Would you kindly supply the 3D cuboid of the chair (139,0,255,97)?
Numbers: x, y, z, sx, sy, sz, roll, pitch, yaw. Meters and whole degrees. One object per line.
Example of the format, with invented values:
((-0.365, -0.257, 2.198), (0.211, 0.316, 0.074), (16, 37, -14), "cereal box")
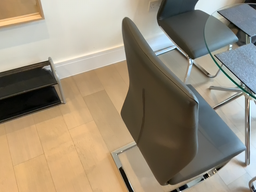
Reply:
((0.490, -0.580, 1.570), (0.450, 1.020, 0.580), (-20, 58, -21), "chair")

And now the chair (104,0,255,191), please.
((0.240, 0.120, 0.990), (0.560, 1.030, 0.470), (-18, 57, -19), "chair")

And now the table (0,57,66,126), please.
((-0.780, -0.020, 1.490), (0.580, 0.250, 0.270), (-20, 58, -21), "table")
